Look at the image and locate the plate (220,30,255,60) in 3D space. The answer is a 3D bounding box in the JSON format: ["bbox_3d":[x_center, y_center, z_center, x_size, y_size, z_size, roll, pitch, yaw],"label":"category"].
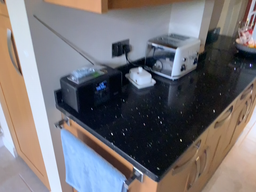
[{"bbox_3d":[0.990,-0.440,1.800,0.260,0.140,0.290,28,39,36],"label":"plate"}]

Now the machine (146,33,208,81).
[{"bbox_3d":[0.320,-0.270,1.390,0.240,0.180,0.320,28,39,36],"label":"machine"}]
